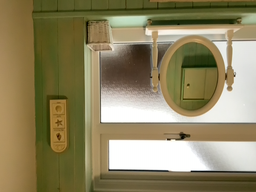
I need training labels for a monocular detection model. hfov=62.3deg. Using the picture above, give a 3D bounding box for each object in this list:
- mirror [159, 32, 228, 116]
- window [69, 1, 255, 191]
[{"bbox_3d":[0.370,-0.120,1.240,0.360,0.460,0.140,0,-178,3],"label":"mirror"},{"bbox_3d":[0.380,0.100,1.230,1.370,1.150,0.290,0,-178,4],"label":"window"}]
